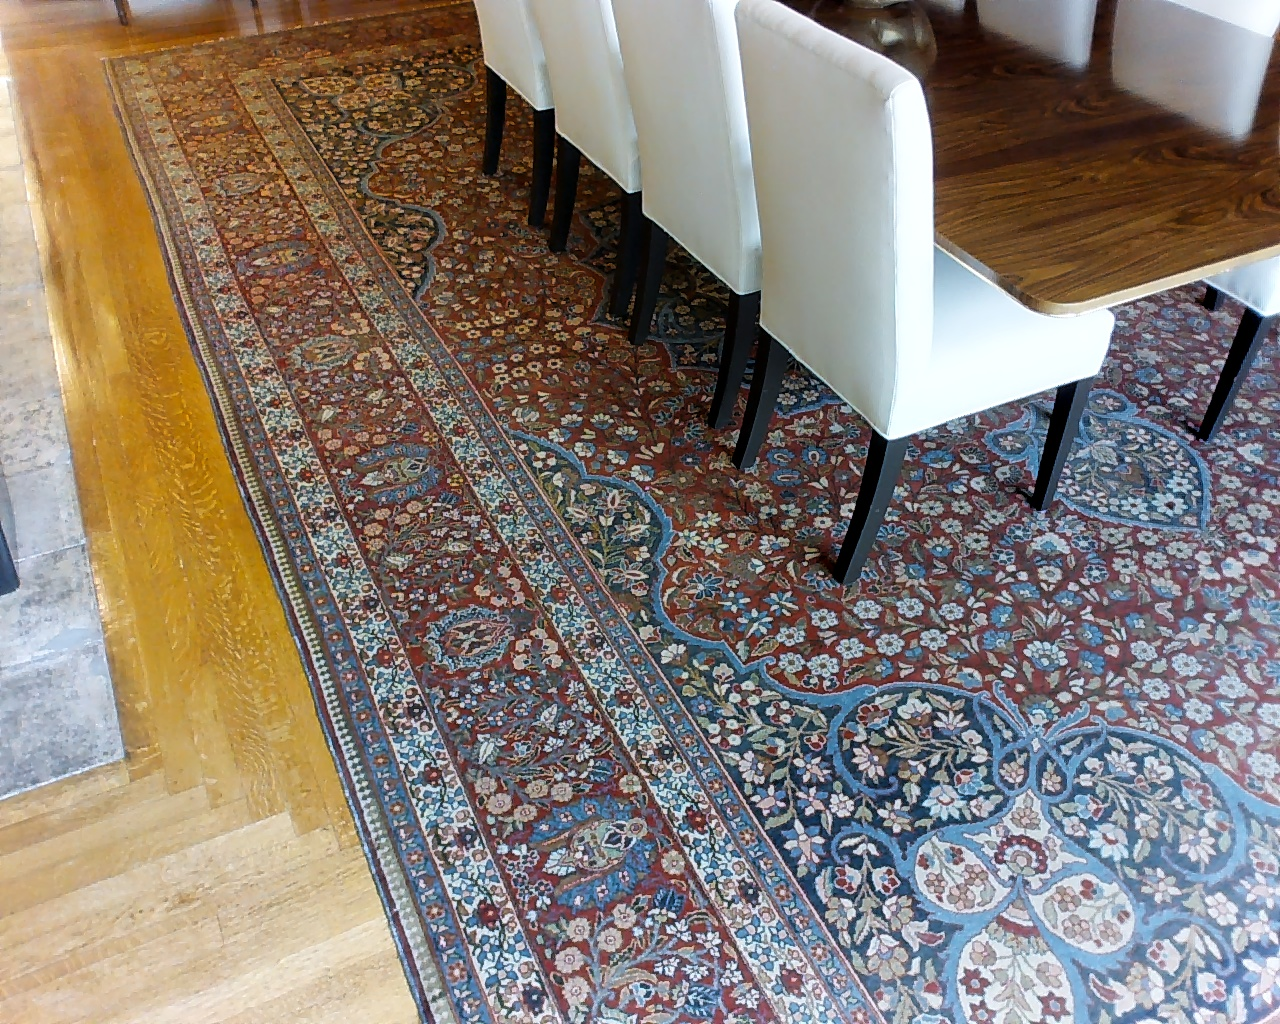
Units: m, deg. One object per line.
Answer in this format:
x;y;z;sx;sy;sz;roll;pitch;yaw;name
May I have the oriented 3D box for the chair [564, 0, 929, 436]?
0.190;-0.830;2.490;0.470;1.010;0.690;-18;45;-20;chair
